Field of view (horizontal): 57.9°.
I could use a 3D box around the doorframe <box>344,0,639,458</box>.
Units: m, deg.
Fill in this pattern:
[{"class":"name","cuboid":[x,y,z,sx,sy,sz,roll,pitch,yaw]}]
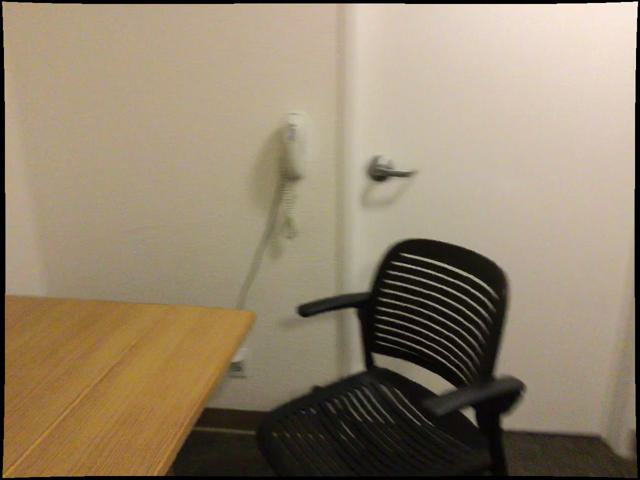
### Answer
[{"class":"doorframe","cuboid":[0.619,0.000,1.840,1.049,1.471,0.160,2,20,10]}]
